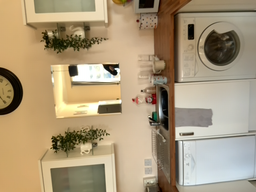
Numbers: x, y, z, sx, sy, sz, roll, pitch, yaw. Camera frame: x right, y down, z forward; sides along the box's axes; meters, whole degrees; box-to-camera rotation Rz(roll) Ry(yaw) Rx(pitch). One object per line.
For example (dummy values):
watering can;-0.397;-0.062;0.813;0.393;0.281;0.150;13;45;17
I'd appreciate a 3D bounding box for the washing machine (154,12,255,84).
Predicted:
washing machine;0.790;-0.470;2.150;0.610;0.920;0.590;-123;31;-79
